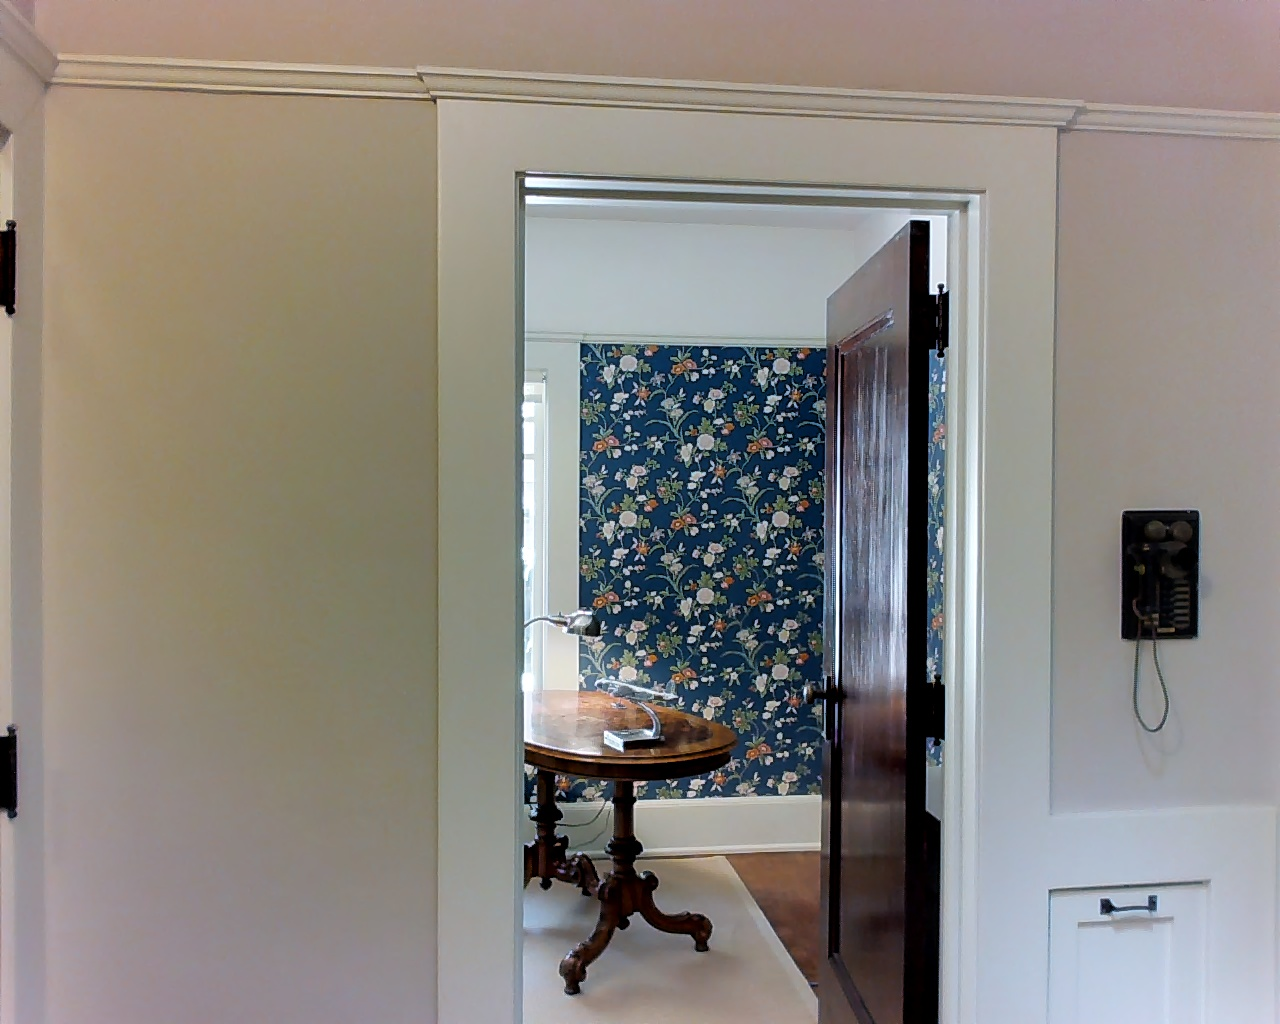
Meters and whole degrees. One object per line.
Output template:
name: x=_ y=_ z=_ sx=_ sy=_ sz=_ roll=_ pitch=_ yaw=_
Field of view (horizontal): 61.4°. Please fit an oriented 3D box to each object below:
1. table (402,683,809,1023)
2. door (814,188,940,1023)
table: x=-0.160 y=1.120 z=3.810 sx=0.780 sy=0.780 sz=1.290 roll=-1 pitch=1 yaw=-43
door: x=0.560 y=0.430 z=2.670 sx=0.100 sy=2.190 sz=0.920 roll=0 pitch=1 yaw=0
